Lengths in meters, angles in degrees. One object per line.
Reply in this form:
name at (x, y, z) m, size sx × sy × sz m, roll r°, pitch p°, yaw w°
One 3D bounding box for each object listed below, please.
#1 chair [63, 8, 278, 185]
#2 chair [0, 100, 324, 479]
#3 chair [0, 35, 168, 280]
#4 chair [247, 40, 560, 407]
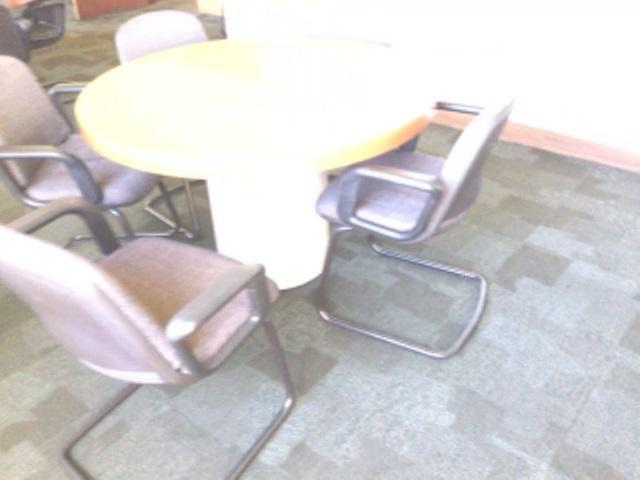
chair at (-0.610, -0.630, 2.390) m, size 0.590 × 0.450 × 0.620 m, roll -24°, pitch 38°, yaw -28°
chair at (-0.480, 0.220, 1.420) m, size 0.690 × 0.850 × 0.630 m, roll 20°, pitch 40°, yaw 32°
chair at (-0.940, -0.310, 2.020) m, size 0.660 × 0.570 × 0.670 m, roll -9°, pitch 33°, yaw -6°
chair at (0.270, -0.100, 1.860) m, size 0.620 × 0.840 × 0.650 m, roll 22°, pitch 41°, yaw 35°
